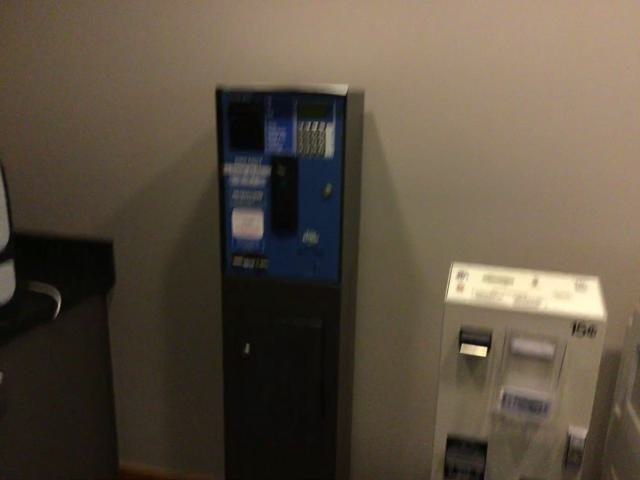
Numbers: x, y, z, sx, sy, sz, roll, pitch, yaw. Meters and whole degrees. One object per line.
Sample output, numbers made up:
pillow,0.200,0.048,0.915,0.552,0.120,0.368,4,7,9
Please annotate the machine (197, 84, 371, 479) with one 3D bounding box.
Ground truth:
machine,-0.070,0.320,1.580,0.350,1.430,0.300,3,14,14
